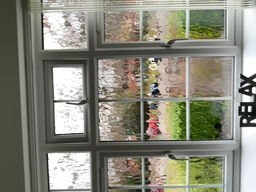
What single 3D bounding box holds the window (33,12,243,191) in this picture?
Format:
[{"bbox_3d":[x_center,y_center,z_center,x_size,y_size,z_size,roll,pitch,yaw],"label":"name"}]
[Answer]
[{"bbox_3d":[0.080,0.210,1.440,0.100,1.350,1.480,-104,12,-88],"label":"window"}]
